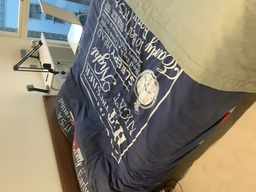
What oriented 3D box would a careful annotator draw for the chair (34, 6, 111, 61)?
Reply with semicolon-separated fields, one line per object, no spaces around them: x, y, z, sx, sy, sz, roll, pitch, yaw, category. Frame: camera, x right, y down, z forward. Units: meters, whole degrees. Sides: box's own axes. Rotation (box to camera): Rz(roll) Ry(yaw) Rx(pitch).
-0.740;-0.790;2.780;0.420;0.830;0.450;61;138;37;chair
